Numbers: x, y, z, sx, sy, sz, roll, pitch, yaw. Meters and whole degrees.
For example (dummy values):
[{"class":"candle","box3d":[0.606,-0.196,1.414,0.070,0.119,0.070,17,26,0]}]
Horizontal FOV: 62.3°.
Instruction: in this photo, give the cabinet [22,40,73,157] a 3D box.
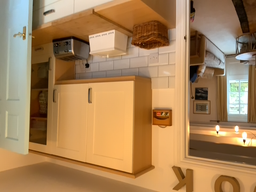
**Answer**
[{"class":"cabinet","box3d":[-0.930,0.030,2.450,0.500,1.210,0.300,0,179,34]}]
